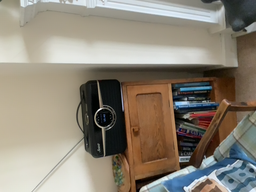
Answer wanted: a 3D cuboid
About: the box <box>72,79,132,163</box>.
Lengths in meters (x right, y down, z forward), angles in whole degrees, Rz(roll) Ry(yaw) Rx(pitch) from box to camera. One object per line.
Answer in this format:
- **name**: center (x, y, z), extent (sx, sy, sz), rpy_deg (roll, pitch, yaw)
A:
- **box**: center (-0.140, 0.110, 1.060), extent (0.270, 0.190, 0.350), rpy_deg (-7, 86, 61)
